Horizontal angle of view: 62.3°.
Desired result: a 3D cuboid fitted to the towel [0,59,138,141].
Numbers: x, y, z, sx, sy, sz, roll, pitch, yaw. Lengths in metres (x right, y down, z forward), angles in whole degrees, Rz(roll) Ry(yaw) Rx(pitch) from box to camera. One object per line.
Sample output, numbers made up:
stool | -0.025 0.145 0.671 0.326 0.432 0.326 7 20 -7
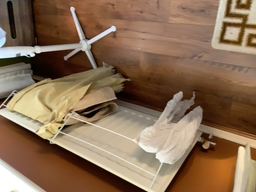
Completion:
towel | -0.370 -0.050 1.330 0.570 0.720 0.150 19 116 28
